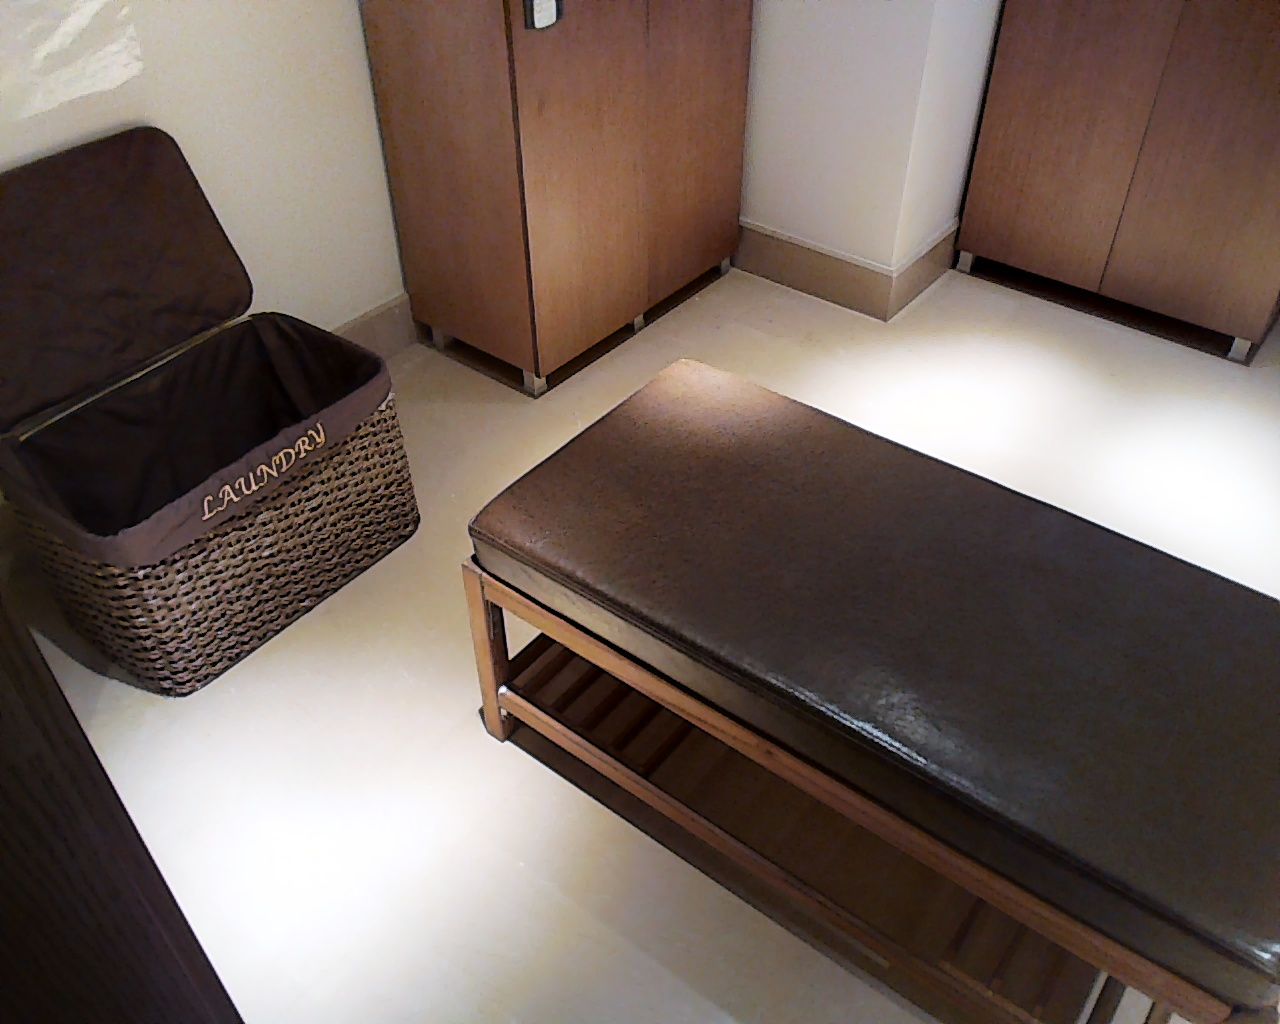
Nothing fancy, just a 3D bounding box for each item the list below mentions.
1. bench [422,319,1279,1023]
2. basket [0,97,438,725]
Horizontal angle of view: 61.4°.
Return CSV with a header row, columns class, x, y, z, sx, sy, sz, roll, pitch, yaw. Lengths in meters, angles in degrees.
class,x,y,z,sx,sy,sz,roll,pitch,yaw
bench,0.360,0.270,1.730,1.260,0.560,0.630,27,48,27
basket,-0.920,-0.220,2.080,0.630,0.800,0.710,28,49,28
